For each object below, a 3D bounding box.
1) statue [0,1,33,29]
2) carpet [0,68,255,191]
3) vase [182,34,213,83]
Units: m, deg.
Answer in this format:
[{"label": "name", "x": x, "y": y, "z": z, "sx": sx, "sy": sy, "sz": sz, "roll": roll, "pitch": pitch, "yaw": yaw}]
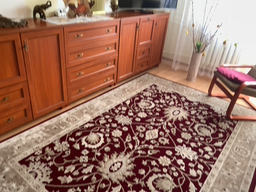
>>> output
[{"label": "statue", "x": -1.140, "y": -0.690, "z": 1.800, "sx": 0.340, "sy": 0.160, "sz": 0.490, "roll": 24, "pitch": 34, "yaw": 30}, {"label": "carpet", "x": 0.290, "y": 0.370, "z": 2.280, "sx": 2.040, "sy": 0.060, "sz": 2.950, "roll": 25, "pitch": 34, "yaw": 30}, {"label": "vase", "x": 1.150, "y": -0.630, "z": 3.500, "sx": 0.210, "sy": 0.680, "sz": 0.470, "roll": 22, "pitch": 32, "yaw": 26}]
